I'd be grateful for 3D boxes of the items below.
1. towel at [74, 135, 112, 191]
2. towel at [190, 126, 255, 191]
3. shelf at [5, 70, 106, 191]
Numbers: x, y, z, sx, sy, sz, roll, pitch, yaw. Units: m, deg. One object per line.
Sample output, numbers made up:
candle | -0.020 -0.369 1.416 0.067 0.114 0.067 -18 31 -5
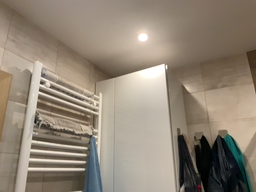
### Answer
towel | -0.210 0.760 1.220 0.160 1.030 0.160 -11 -22 27
towel | 0.640 0.770 1.270 0.380 1.130 0.130 -11 -22 27
shelf | -0.360 0.540 1.170 0.140 1.240 0.580 -12 -22 28
